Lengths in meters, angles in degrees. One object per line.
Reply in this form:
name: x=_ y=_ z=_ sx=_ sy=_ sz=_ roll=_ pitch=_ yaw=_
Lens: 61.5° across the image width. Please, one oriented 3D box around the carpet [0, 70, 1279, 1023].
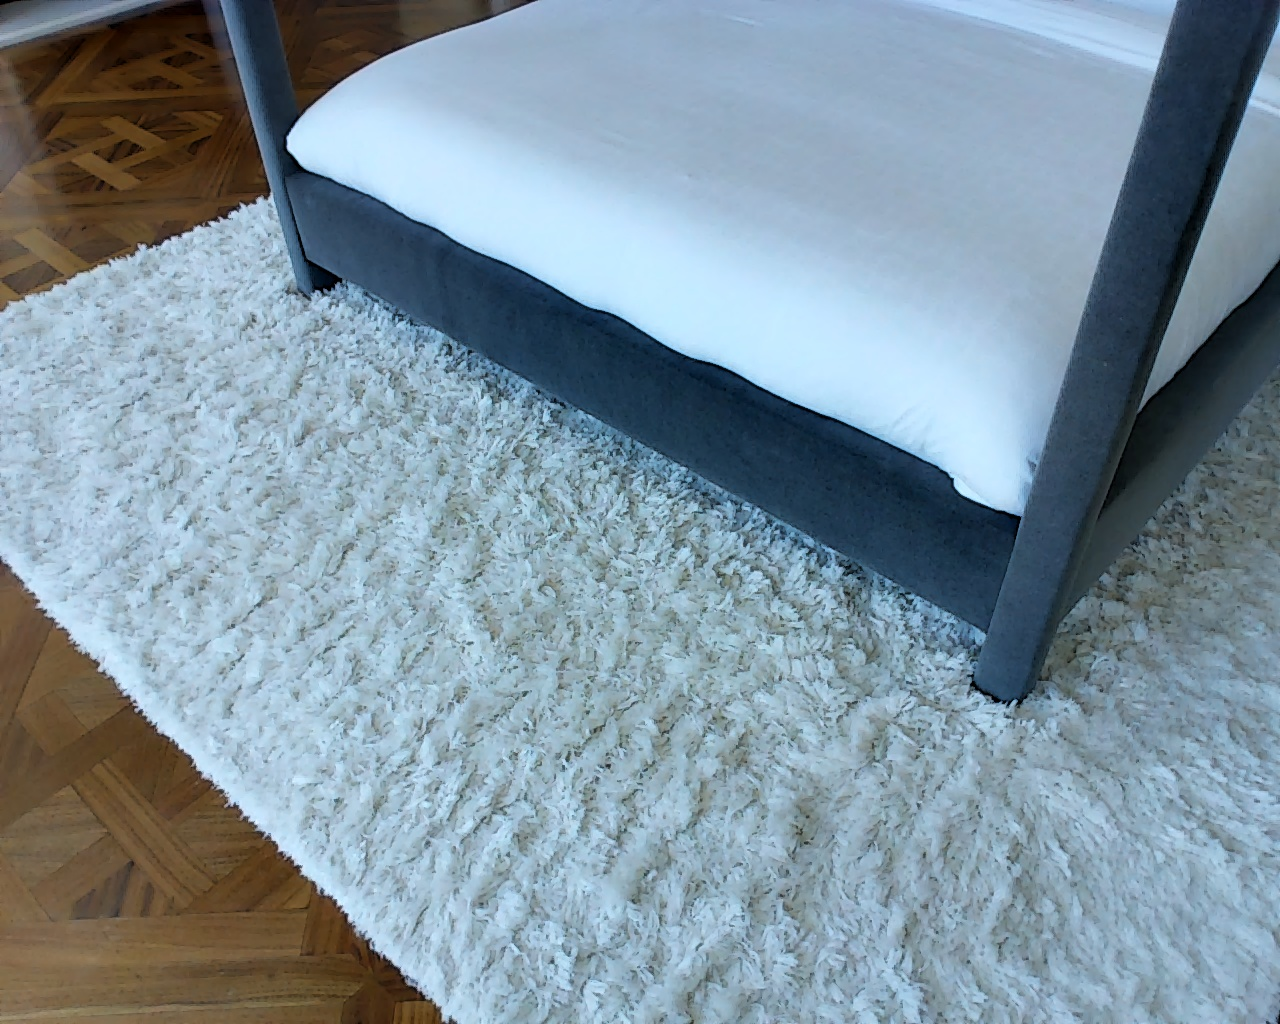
carpet: x=0.040 y=-0.260 z=2.590 sx=3.360 sy=0.020 sz=2.640 roll=31 pitch=52 yaw=30
